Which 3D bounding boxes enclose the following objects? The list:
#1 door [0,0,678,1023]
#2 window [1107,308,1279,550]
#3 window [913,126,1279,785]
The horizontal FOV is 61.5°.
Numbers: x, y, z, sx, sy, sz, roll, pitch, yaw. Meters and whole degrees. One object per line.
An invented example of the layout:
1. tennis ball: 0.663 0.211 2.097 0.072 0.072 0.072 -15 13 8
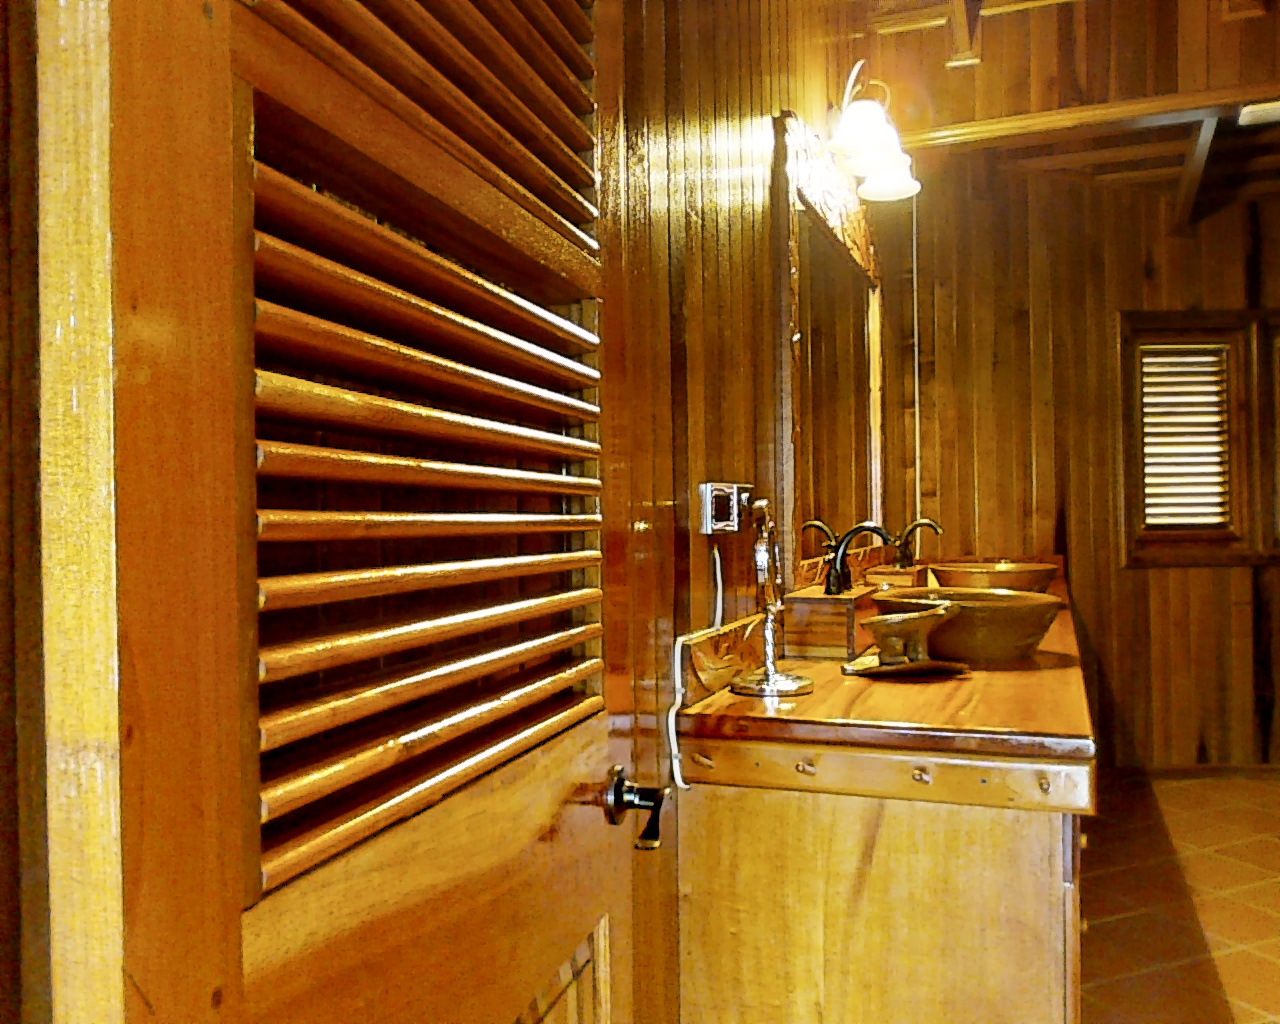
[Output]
1. door: -0.130 0.170 0.860 0.090 2.120 0.960 0 1 15
2. window: 2.730 -0.360 4.750 1.210 1.040 0.210 0 1 11
3. window: 2.340 -0.240 4.690 2.200 2.750 0.340 -1 1 0
